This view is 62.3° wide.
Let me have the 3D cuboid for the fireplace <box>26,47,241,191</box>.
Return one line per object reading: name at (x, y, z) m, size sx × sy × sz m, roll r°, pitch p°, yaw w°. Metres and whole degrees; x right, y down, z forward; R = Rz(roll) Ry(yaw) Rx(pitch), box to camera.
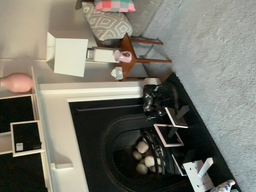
fireplace at (-0.010, 0.480, 1.670) m, size 0.660 × 1.240 × 1.570 m, roll -52°, pitch 50°, yaw 46°
